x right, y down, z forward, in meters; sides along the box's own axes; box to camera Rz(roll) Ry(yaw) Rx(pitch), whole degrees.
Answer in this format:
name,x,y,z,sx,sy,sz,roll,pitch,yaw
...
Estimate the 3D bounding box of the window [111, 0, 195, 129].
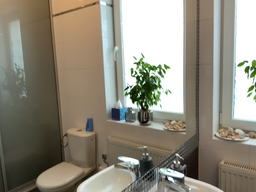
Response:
name,x,y,z,sx,sy,sz,roll,pitch,yaw
window,0.210,-0.470,1.970,0.770,1.460,0.140,4,10,35
